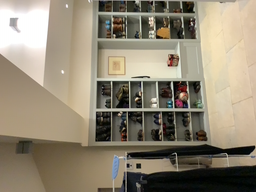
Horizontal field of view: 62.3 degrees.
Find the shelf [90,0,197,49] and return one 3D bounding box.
[{"bbox_3d":[0.320,-1.700,4.730,0.380,2.210,1.230,100,170,-74],"label":"shelf"}]

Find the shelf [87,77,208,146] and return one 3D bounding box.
[{"bbox_3d":[0.350,0.310,4.180,0.370,2.210,1.290,100,170,-74],"label":"shelf"}]

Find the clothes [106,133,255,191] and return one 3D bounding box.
[{"bbox_3d":[0.690,0.860,1.920,1.000,1.720,0.920,99,170,-73],"label":"clothes"}]
